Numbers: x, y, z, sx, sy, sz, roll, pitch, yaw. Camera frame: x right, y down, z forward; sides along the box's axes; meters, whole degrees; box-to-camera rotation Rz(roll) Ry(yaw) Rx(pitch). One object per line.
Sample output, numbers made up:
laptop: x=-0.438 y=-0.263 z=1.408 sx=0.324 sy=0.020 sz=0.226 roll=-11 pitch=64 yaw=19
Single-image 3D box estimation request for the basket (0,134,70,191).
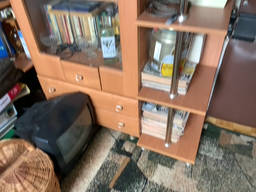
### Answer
basket: x=-0.530 y=0.420 z=1.000 sx=0.370 sy=0.260 sz=0.270 roll=17 pitch=44 yaw=21
